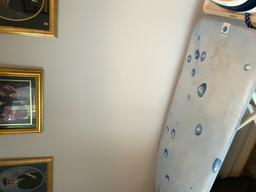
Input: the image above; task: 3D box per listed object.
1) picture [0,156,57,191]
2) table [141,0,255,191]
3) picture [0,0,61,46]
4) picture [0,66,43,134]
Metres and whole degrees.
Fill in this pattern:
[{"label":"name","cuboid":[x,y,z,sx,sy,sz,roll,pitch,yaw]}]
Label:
[{"label":"picture","cuboid":[-0.630,0.500,1.250,0.020,0.390,0.340,-120,36,-59]},{"label":"table","cuboid":[0.700,0.170,1.170,0.560,0.860,1.610,-121,38,-60]},{"label":"picture","cuboid":[-0.470,-0.380,0.870,0.020,0.370,0.300,-123,39,-61]},{"label":"picture","cuboid":[-0.580,0.030,1.030,0.030,0.310,0.350,-123,39,-61]}]
